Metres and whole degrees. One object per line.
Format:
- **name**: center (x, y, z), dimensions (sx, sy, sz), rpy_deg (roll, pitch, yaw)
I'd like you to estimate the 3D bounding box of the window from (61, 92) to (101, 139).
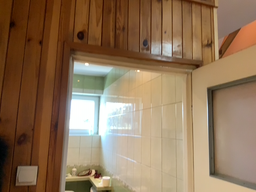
- **window**: center (-0.850, 0.360, 3.860), dimensions (0.660, 0.800, 0.120), rpy_deg (5, -9, -20)
